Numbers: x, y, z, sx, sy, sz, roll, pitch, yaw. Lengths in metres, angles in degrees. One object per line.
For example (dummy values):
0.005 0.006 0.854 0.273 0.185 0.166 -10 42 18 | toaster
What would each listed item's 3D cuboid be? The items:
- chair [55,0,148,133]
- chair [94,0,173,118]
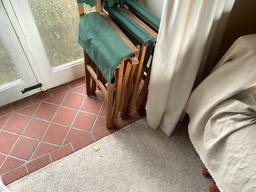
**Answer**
-0.190 -0.260 1.380 0.250 0.910 0.590 -24 57 -20 | chair
-0.020 -0.320 1.470 0.150 0.850 0.590 -24 57 -20 | chair
